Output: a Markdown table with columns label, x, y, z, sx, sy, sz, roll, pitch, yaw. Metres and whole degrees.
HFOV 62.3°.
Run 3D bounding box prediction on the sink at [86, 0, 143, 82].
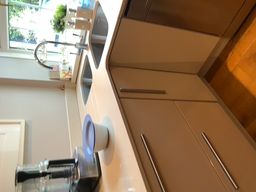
| label | x | y | z | sx | sy | sz | roll | pitch | yaw |
| --- | --- | --- | --- | --- | --- | --- | --- | --- | --- |
| sink | -0.130 | -0.410 | 1.510 | 0.460 | 0.200 | 0.400 | -113 | 35 | -43 |

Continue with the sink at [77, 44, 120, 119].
| label | x | y | z | sx | sy | sz | roll | pitch | yaw |
| --- | --- | --- | --- | --- | --- | --- | --- | --- | --- |
| sink | -0.270 | -0.120 | 1.740 | 0.460 | 0.180 | 0.400 | -113 | 35 | -43 |

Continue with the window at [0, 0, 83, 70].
| label | x | y | z | sx | sy | sz | roll | pitch | yaw |
| --- | --- | --- | --- | --- | --- | --- | --- | --- | --- |
| window | -1.040 | -0.760 | 1.770 | 0.180 | 1.230 | 1.060 | -113 | 35 | -43 |
